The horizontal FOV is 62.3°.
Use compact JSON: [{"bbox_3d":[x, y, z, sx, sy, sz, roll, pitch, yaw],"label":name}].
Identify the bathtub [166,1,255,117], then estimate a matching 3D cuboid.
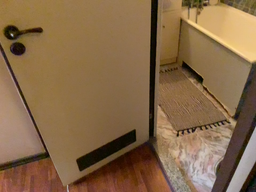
[{"bbox_3d":[1.030,-0.510,2.310,0.690,0.590,1.350,-12,39,-11],"label":"bathtub"}]
